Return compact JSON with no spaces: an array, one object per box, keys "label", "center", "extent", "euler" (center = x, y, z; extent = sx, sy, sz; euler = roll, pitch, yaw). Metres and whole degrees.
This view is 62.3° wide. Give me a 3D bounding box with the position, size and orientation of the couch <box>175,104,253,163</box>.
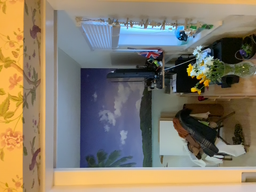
[{"label":"couch","center":[1.190,0.560,3.110],"extent":[0.590,0.760,0.700],"euler":[97,173,-61]}]
